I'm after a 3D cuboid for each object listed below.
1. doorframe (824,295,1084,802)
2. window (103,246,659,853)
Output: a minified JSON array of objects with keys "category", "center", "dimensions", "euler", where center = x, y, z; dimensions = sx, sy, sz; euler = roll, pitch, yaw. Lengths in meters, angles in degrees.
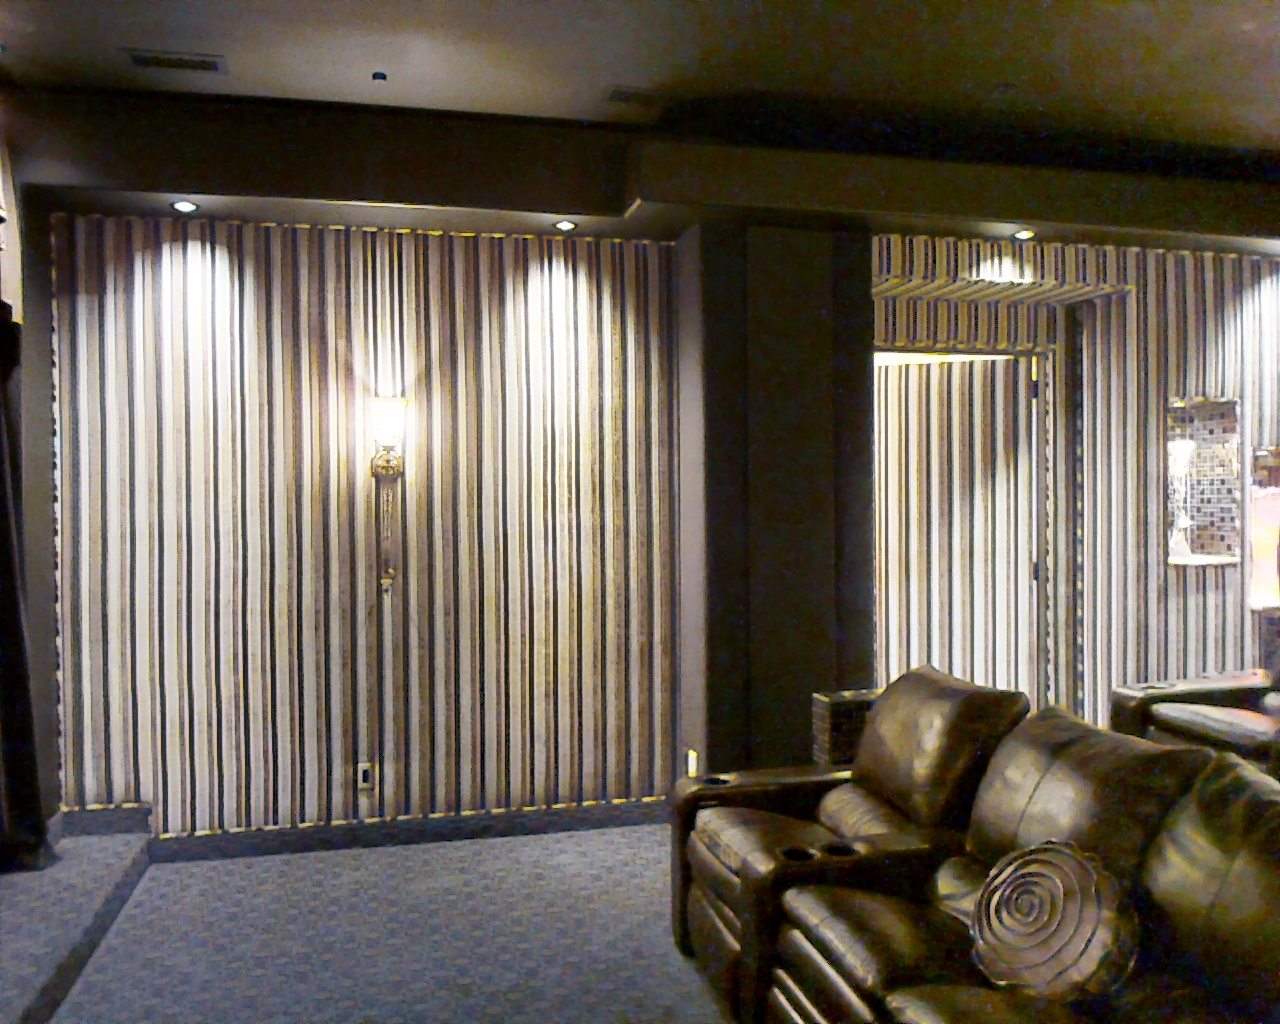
[{"category":"doorframe","center":[1.710,0.180,5.800],"dimensions":[1.390,2.620,0.240],"euler":[-1,1,-13]},{"category":"window","center":[-1.140,0.150,5.030],"dimensions":[2.480,2.680,0.050],"euler":[-1,1,-13]}]
